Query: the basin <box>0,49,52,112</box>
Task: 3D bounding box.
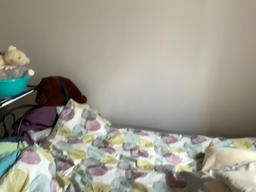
[{"bbox_3d":[-0.960,-0.150,1.660,0.520,0.370,0.440,5,18,7],"label":"basin"}]
